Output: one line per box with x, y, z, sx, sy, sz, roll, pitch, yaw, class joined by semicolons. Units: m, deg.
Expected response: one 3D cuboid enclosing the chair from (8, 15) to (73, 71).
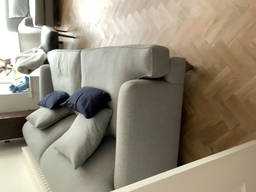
-1.340;-0.790;3.230;0.480;0.790;0.670;39;125;47;chair

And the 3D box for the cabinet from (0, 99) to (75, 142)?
-1.460;0.330;3.160;0.440;1.210;0.420;18;108;54;cabinet
